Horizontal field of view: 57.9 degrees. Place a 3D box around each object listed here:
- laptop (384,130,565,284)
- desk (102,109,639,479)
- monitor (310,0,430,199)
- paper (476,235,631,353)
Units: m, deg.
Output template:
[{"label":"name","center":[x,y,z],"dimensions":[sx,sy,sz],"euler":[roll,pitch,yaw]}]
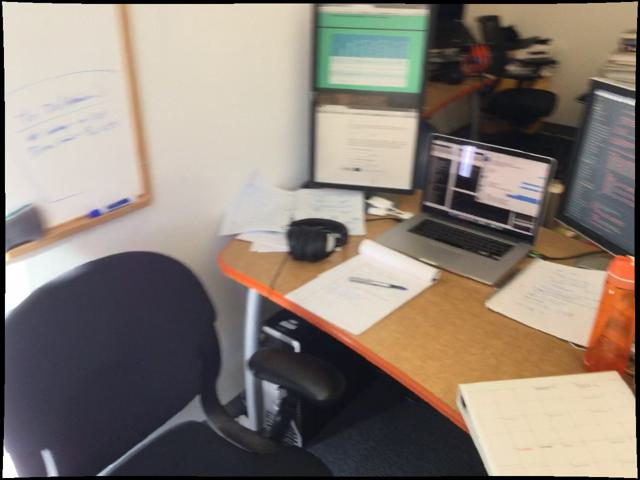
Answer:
[{"label":"laptop","center":[0.410,-0.110,1.560],"dimensions":[0.350,0.250,0.320],"euler":[19,33,34]},{"label":"desk","center":[0.380,0.370,1.520],"dimensions":[1.529,0.901,1.030],"euler":[25,37,34]},{"label":"monitor","center":[0.140,-0.420,1.710],"dimensions":[0.300,0.550,0.160],"euler":[7,30,8]},{"label":"paper","center":[0.549,0.110,1.350],"dimensions":[0.230,0.060,0.320],"euler":[25,37,34]}]
